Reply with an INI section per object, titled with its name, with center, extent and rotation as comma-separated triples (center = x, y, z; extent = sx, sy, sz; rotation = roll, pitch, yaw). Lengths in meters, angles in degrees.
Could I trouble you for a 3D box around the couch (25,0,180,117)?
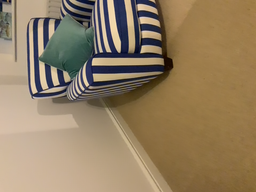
[couch]
center = -0.300, -0.370, 1.650
extent = 0.930, 0.840, 0.900
rotation = -25, 69, 59
